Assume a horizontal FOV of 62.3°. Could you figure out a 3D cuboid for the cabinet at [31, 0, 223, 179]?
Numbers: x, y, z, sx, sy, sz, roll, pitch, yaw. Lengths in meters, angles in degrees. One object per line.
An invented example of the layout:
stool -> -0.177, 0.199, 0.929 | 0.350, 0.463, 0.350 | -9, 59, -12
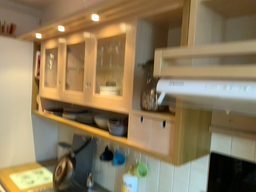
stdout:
cabinet -> -0.240, -0.120, 1.550 | 0.280, 0.800, 1.660 | 1, 4, -44
